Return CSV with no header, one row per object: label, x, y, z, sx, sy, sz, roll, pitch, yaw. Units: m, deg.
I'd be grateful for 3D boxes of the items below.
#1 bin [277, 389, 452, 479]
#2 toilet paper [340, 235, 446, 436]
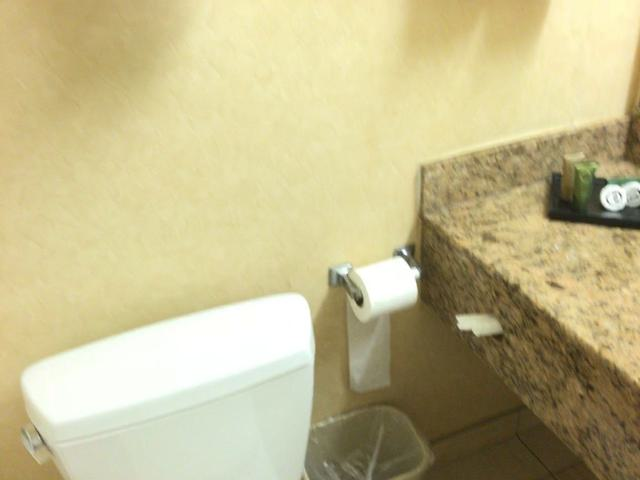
bin,0.100,0.590,1.360,0.320,0.320,0.220,-14,32,-19
toilet paper,0.150,0.210,1.240,0.170,0.400,0.120,-14,32,-19
